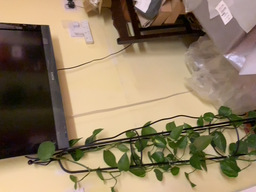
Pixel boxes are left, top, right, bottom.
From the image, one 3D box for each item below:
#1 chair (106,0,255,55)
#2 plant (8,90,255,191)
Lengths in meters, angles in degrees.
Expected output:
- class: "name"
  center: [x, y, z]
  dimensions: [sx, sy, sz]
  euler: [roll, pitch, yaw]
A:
- class: "chair"
  center: [0.430, -0.660, 1.390]
  dimensions: [0.570, 0.980, 0.500]
  euler: [124, 136, -59]
- class: "plant"
  center: [0.370, 0.260, 1.020]
  dimensions: [0.290, 1.620, 0.420]
  euler: [115, 143, -53]
